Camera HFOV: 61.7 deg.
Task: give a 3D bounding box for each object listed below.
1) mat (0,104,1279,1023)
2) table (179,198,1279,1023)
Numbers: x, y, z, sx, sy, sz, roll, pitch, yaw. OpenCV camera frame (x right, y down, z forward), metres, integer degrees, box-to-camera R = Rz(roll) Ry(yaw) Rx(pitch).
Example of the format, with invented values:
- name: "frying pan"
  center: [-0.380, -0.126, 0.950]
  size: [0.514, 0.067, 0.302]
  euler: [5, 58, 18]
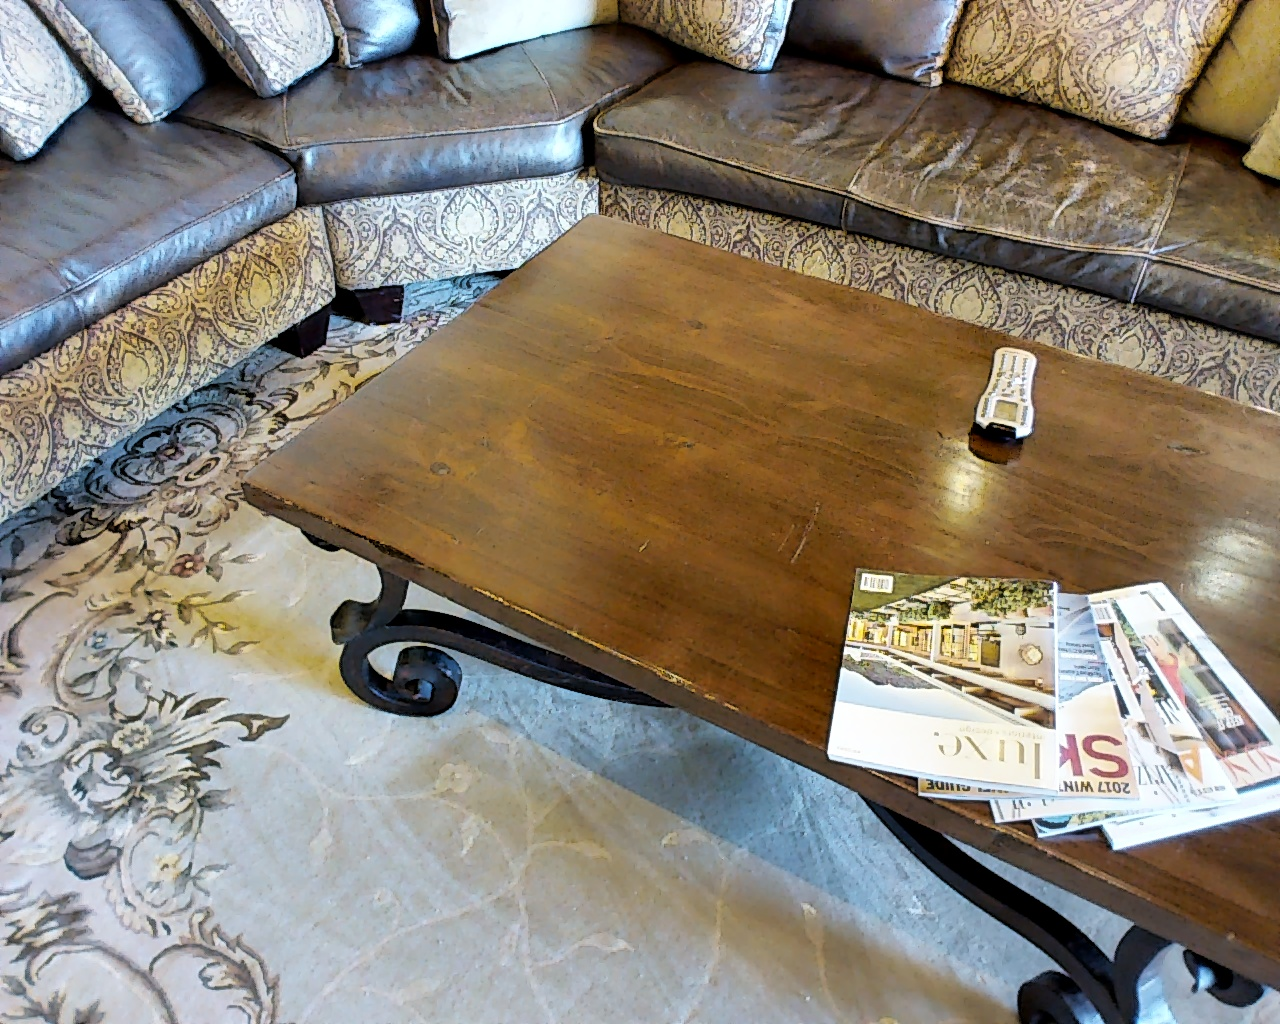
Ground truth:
- name: "mat"
  center: [0.130, 0.370, 1.730]
  size: [4.890, 0.090, 2.970]
  euler: [22, 46, 22]
- name: "table"
  center: [0.290, 0.130, 1.670]
  size: [1.500, 0.540, 1.020]
  euler: [20, 46, 21]
